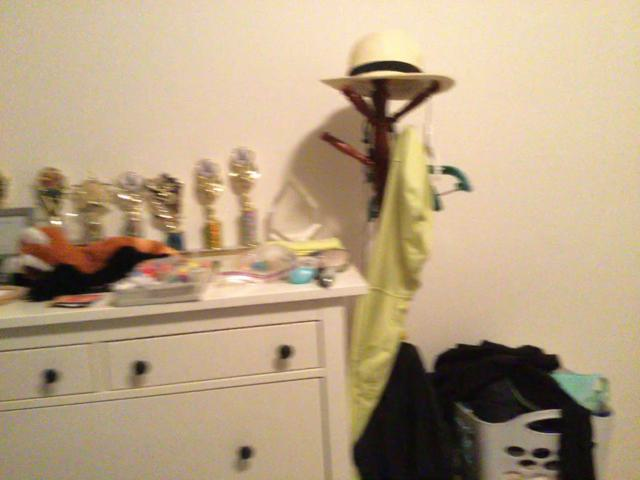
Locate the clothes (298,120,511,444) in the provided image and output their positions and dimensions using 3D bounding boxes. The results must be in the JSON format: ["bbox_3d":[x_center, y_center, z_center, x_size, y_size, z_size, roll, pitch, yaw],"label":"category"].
[{"bbox_3d":[0.180,0.080,1.380,0.200,0.670,0.340,-24,8,-1],"label":"clothes"}]

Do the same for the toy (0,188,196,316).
[{"bbox_3d":[-0.540,0.020,1.360,0.430,0.170,0.200,-16,8,-2],"label":"toy"}]
